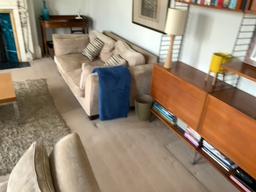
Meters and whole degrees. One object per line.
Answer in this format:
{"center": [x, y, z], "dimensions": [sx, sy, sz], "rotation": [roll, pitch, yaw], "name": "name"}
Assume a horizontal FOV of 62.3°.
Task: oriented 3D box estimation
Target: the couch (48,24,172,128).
{"center": [-0.450, -0.520, 3.290], "dimensions": [1.160, 0.780, 2.010], "rotation": [-10, 31, -25], "name": "couch"}
